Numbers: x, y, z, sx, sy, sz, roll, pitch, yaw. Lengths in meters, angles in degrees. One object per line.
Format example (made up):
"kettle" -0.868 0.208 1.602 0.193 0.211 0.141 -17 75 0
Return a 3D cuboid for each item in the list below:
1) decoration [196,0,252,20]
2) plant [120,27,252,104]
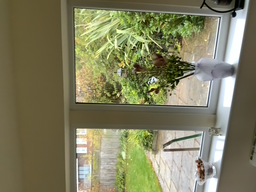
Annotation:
"decoration" 0.700 -0.700 1.540 0.170 0.320 0.250 -103 16 -71
"plant" 0.380 -0.280 1.750 0.600 0.840 0.450 -100 13 -67
